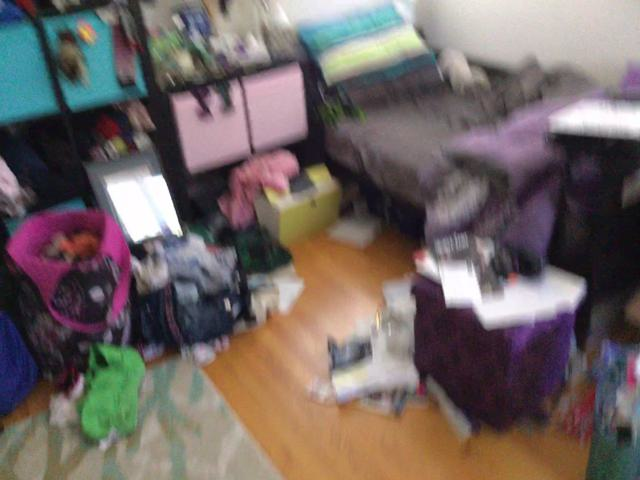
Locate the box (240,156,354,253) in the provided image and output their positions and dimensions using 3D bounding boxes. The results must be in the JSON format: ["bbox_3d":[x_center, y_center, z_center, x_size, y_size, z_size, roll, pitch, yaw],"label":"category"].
[{"bbox_3d":[-0.110,-0.190,2.870,0.440,0.290,0.330,-20,31,-29],"label":"box"}]
